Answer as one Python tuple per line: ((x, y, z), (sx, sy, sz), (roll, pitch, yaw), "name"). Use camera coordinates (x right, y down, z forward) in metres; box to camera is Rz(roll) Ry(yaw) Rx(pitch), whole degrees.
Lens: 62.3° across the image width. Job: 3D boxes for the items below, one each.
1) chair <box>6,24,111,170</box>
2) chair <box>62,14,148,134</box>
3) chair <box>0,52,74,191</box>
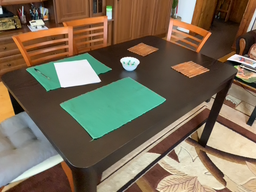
((-0.480, 0.000, 1.610), (0.450, 0.870, 0.520), (-26, 46, -37), "chair")
((-0.220, -0.210, 1.940), (0.460, 0.860, 0.520), (-26, 46, -37), "chair")
((-0.640, 0.310, 1.120), (0.490, 0.890, 0.430), (-25, 45, -36), "chair")
